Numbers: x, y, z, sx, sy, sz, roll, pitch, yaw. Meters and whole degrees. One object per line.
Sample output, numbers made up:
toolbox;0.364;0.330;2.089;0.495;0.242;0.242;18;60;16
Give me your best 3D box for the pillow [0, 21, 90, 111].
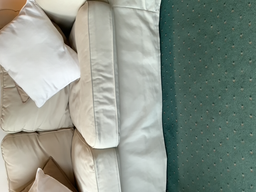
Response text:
pillow;-0.470;-0.150;1.140;0.220;0.410;0.340;33;107;18
